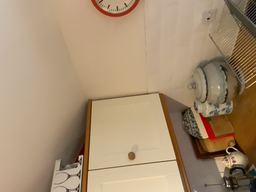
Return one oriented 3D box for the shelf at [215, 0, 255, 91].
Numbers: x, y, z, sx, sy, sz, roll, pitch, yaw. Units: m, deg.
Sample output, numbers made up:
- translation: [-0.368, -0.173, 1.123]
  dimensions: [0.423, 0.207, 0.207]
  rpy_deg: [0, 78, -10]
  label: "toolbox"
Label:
- translation: [0.620, -0.260, 1.000]
  dimensions: [0.340, 0.230, 0.300]
  rpy_deg: [83, 180, -48]
  label: "shelf"
